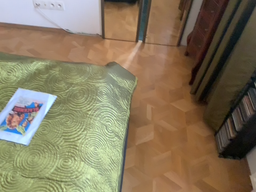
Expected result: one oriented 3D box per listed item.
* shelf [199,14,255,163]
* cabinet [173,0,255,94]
[{"bbox_3d":[0.680,0.020,1.240,0.210,0.890,0.360,9,48,2],"label":"shelf"},{"bbox_3d":[0.690,-0.640,1.570,0.410,1.280,0.460,9,48,2],"label":"cabinet"}]
